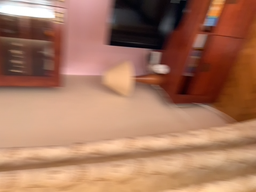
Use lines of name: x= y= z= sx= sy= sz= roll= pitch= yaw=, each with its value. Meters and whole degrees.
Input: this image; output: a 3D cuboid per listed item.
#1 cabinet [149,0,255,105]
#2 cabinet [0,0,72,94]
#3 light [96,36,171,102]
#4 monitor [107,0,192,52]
cabinet: x=0.660 y=-0.590 z=1.820 sx=0.620 sy=0.490 sz=1.200 roll=-116 pitch=33 yaw=-51
cabinet: x=-0.730 y=-0.640 z=1.430 sx=0.380 sy=0.650 sz=1.250 roll=-116 pitch=33 yaw=-51
light: x=0.020 y=-0.250 z=2.010 sx=0.380 sy=0.540 sz=0.470 roll=-116 pitch=32 yaw=-50
monitor: x=0.190 y=-0.700 z=1.540 sx=0.050 sy=0.580 sz=0.740 roll=-116 pitch=33 yaw=-51
